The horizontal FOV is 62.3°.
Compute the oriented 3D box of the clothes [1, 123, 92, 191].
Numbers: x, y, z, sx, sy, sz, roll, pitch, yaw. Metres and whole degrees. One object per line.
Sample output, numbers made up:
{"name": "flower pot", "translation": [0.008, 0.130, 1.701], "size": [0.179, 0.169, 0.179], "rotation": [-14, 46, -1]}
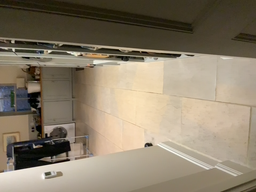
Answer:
{"name": "clothes", "translation": [-1.790, 1.240, 4.730], "size": [0.920, 1.720, 1.000], "rotation": [4, 96, 61]}
